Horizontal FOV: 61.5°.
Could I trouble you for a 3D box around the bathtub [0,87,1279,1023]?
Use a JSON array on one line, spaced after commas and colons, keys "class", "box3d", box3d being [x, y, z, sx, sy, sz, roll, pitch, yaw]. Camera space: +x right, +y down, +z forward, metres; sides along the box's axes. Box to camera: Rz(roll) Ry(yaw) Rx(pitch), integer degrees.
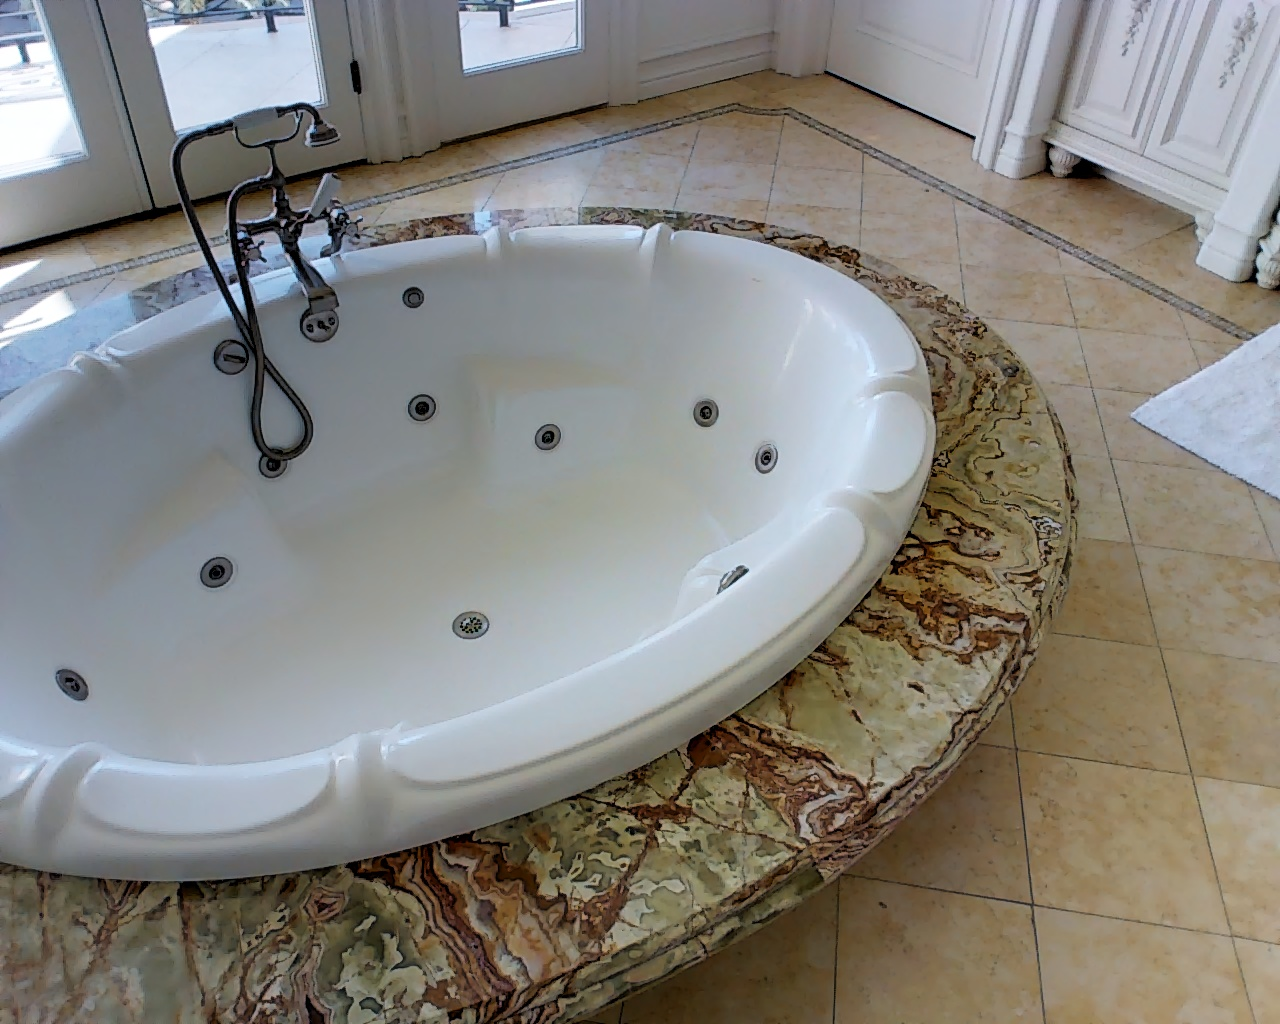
[{"class": "bathtub", "box3d": [-0.320, 0.020, 2.040, 2.510, 0.550, 1.990, -24, 47, -26]}]
